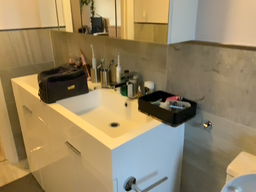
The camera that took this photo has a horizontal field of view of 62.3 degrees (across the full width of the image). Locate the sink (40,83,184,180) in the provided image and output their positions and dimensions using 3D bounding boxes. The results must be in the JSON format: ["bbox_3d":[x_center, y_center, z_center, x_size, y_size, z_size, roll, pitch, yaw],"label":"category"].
[{"bbox_3d":[-0.100,0.110,1.100,0.450,0.140,0.600,-20,28,-40],"label":"sink"}]
